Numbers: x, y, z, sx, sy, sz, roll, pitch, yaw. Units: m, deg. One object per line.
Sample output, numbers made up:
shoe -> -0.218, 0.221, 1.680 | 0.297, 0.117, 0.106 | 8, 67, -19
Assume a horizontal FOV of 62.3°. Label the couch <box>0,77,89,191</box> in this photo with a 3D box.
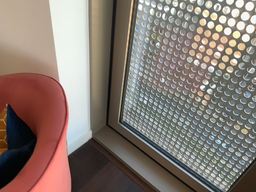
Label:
couch -> -0.580, 0.440, 1.020 | 0.620, 0.750, 0.730 | 8, 41, 0
